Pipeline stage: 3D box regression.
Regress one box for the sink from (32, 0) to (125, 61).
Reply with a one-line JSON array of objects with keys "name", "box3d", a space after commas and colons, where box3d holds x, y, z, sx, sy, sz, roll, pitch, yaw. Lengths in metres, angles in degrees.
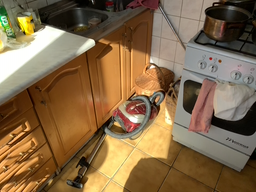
[{"name": "sink", "box3d": [-0.330, -0.480, 1.470, 0.490, 0.200, 0.360, 23, 46, 25]}]
